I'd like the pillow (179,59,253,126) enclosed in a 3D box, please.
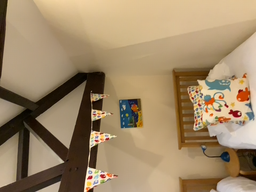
[{"bbox_3d":[0.870,0.020,2.300,0.860,0.380,0.530,97,172,-77],"label":"pillow"}]

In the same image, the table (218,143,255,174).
[{"bbox_3d":[1.440,0.770,2.660,0.330,0.440,0.350,96,173,-77],"label":"table"}]
